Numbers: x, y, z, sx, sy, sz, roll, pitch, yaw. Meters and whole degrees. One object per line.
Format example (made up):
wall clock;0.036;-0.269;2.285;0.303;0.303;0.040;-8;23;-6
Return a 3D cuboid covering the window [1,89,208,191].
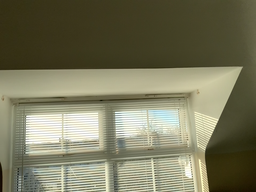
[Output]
window;-0.170;0.580;1.980;1.840;1.260;0.060;-2;-12;-9
